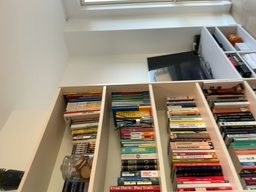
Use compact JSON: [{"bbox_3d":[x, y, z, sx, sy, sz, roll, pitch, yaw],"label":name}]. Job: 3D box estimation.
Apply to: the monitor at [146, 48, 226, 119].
[{"bbox_3d":[0.640,-0.240,2.710,1.340,0.750,0.070,-89,4,-51],"label":"monitor"}]
